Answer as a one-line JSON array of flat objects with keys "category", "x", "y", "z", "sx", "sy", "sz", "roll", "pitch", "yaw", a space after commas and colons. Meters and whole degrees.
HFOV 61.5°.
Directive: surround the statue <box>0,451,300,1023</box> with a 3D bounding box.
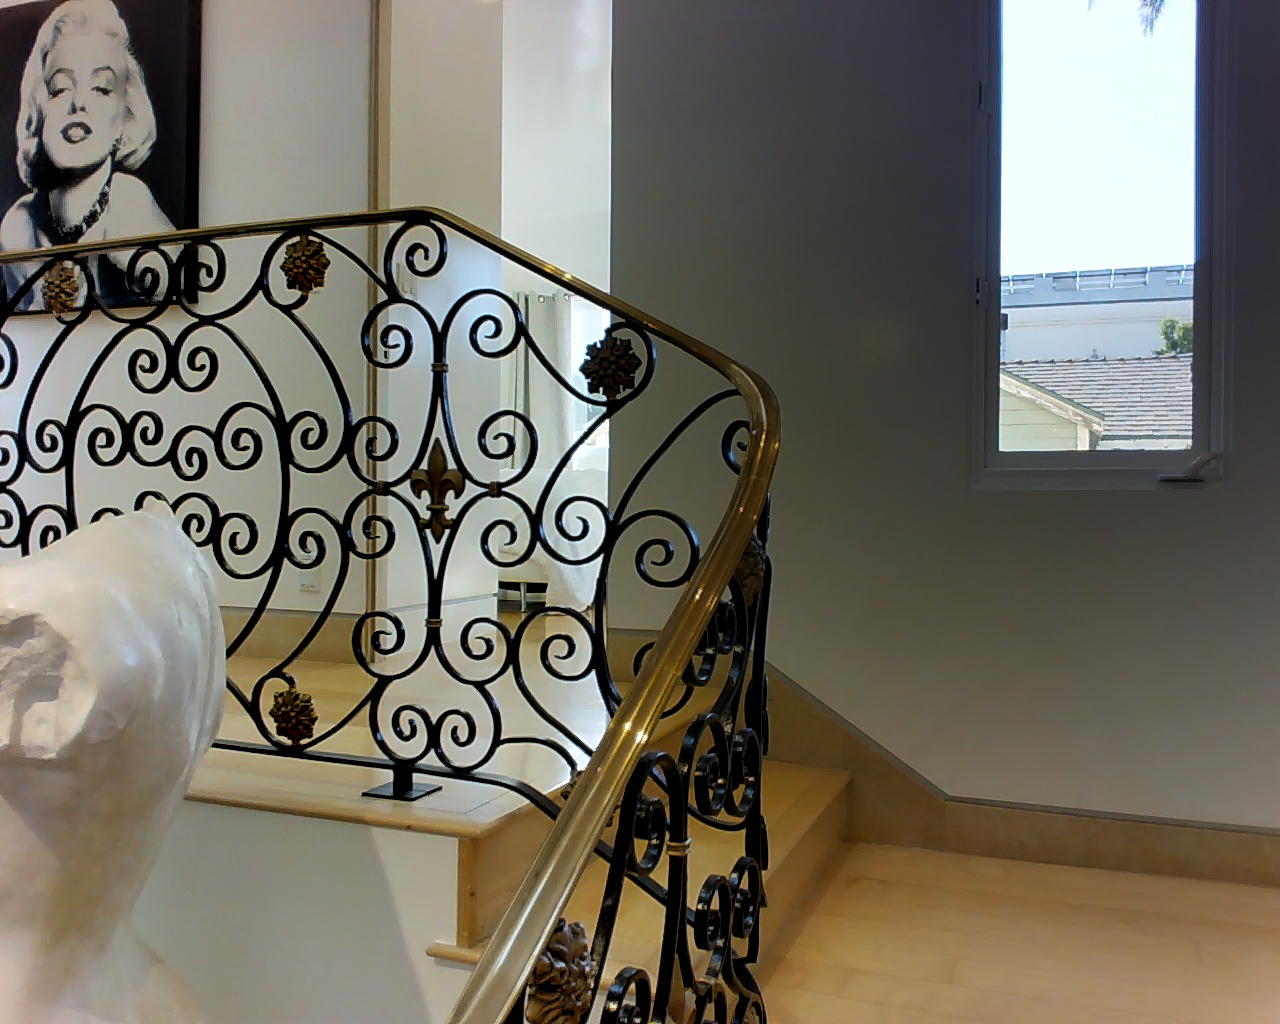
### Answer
[{"category": "statue", "x": -0.790, "y": 0.610, "z": 1.470, "sx": 0.530, "sy": 1.351, "sz": 0.810, "roll": 0, "pitch": 0, "yaw": -23}]
